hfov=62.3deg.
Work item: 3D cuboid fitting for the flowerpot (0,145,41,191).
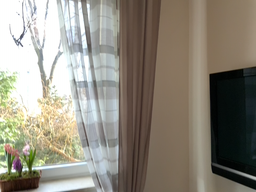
[{"bbox_3d":[-0.780,0.540,1.550,0.250,0.310,0.130,1,-1,-28],"label":"flowerpot"}]
